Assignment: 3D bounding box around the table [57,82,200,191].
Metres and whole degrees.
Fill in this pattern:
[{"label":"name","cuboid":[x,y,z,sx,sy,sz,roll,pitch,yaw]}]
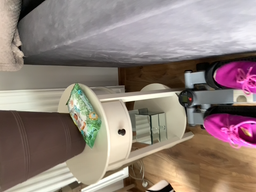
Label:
[{"label":"table","cuboid":[0.030,0.130,1.040,0.370,0.600,0.380,3,96,47]}]
